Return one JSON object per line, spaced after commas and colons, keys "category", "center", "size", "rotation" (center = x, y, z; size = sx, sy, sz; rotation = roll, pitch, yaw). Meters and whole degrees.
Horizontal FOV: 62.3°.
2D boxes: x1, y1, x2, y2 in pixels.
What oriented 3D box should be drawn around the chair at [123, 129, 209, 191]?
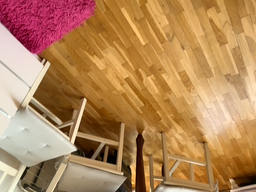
{"category": "chair", "center": [0.280, 0.790, 1.680], "size": [0.560, 0.890, 0.400], "rotation": [13, 132, -9]}
